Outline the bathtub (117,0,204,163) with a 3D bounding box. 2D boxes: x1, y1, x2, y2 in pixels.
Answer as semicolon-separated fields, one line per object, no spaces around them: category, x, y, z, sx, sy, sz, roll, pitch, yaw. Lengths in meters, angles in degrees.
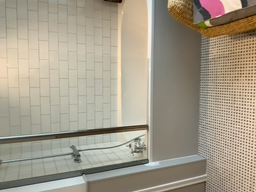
bathtub;0.300;-0.370;2.360;0.800;0.580;1.910;-169;79;-65
